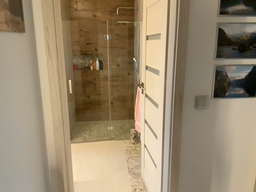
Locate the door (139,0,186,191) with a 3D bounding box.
[{"bbox_3d":[0.260,0.160,1.980,0.150,2.220,0.790,-1,14,-6],"label":"door"}]
